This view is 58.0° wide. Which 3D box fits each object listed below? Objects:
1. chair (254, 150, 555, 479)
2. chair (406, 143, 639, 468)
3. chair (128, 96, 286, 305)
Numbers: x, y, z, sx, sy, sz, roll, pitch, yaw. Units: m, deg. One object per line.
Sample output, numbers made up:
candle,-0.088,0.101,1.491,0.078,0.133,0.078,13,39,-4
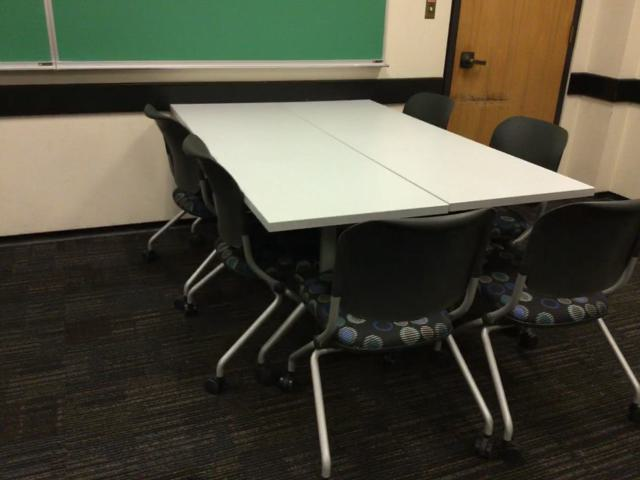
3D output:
chair,0.200,0.230,1.850,0.620,0.830,0.650,-10,27,-22
chair,0.760,0.160,1.990,0.640,0.810,0.630,-10,24,-22
chair,-0.560,-0.240,2.850,0.560,0.800,0.680,-10,24,-22
